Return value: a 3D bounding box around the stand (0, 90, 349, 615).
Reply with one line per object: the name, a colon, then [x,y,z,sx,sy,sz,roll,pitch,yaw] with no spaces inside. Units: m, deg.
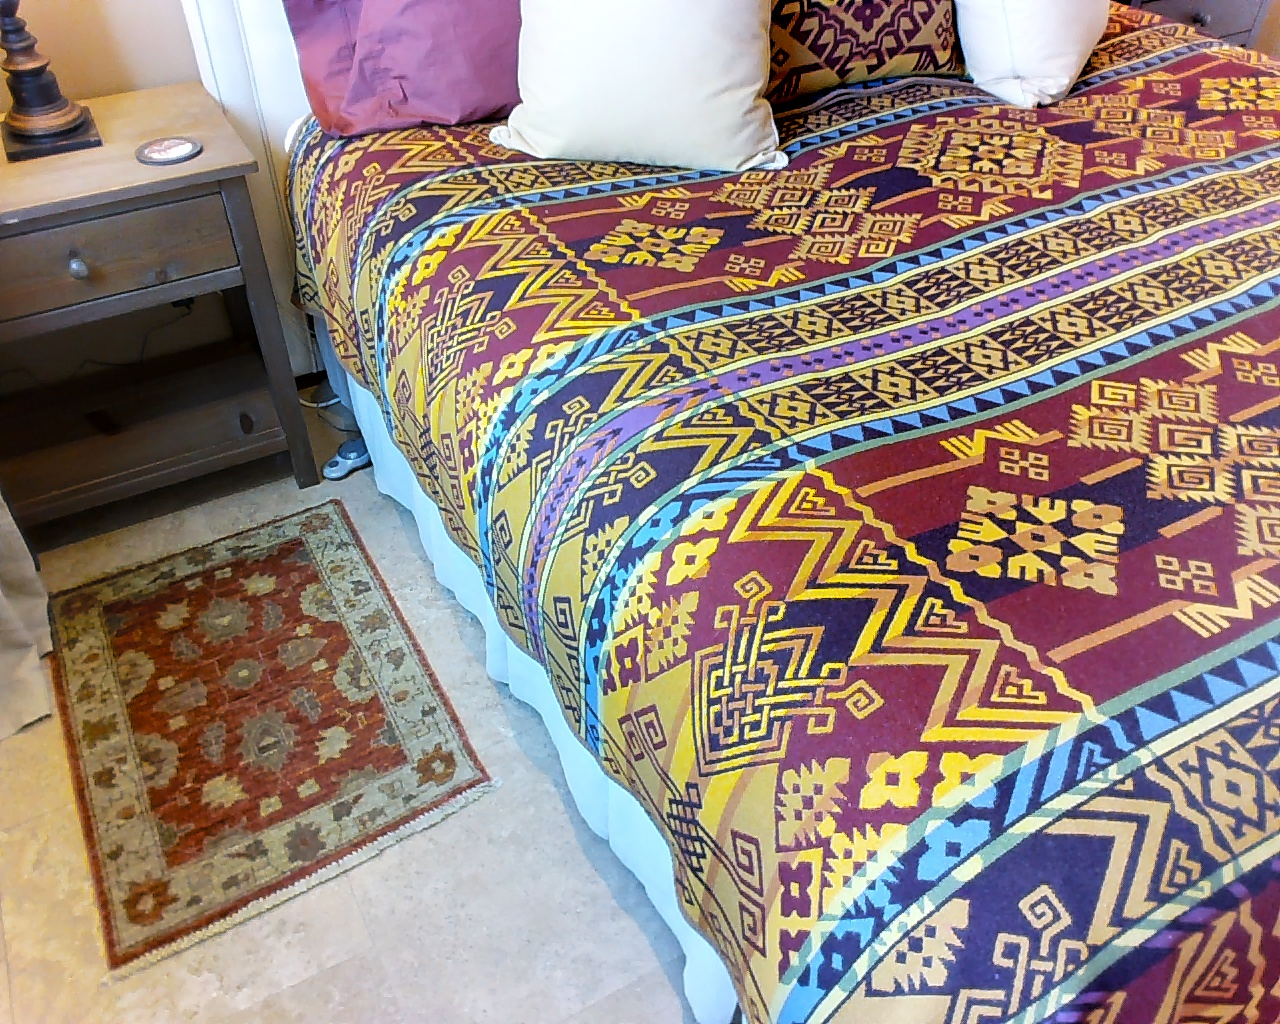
stand: [-1.040,-0.320,2.060,0.700,0.700,0.510,-20,45,-23]
